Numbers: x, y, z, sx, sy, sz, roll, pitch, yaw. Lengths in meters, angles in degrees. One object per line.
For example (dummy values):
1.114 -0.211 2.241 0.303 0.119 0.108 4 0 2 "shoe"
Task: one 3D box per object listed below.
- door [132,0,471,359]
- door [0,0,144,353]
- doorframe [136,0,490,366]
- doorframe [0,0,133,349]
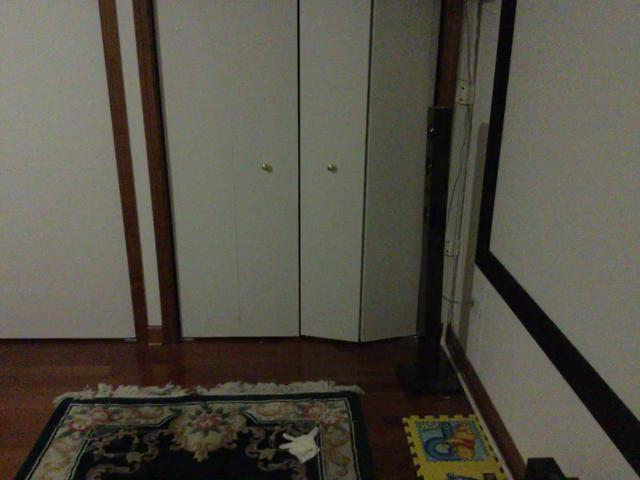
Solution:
-0.090 -0.250 2.550 1.300 1.610 0.230 1 18 -4 "door"
-1.540 -0.250 2.480 1.420 1.600 0.090 1 18 -4 "door"
-0.040 -0.280 2.440 1.310 1.700 0.210 1 18 -4 "doorframe"
-1.630 -0.280 2.440 1.510 1.590 0.130 1 18 -4 "doorframe"
